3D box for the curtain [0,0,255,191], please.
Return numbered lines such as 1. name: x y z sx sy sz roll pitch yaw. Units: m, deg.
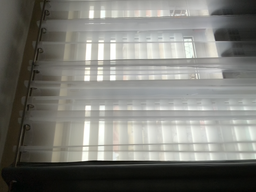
1. curtain: 0.350 -0.330 1.770 0.290 2.800 3.150 94 176 -68
